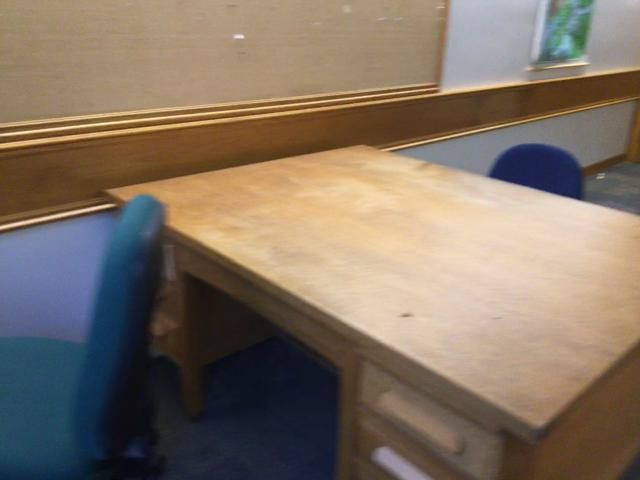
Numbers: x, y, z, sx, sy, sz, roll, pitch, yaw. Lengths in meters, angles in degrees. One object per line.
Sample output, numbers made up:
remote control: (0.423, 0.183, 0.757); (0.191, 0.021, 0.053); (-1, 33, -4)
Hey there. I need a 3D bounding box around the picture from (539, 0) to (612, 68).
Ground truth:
picture: (1.750, -1.630, 3.860); (0.670, 0.910, 0.150); (-14, 23, -43)
